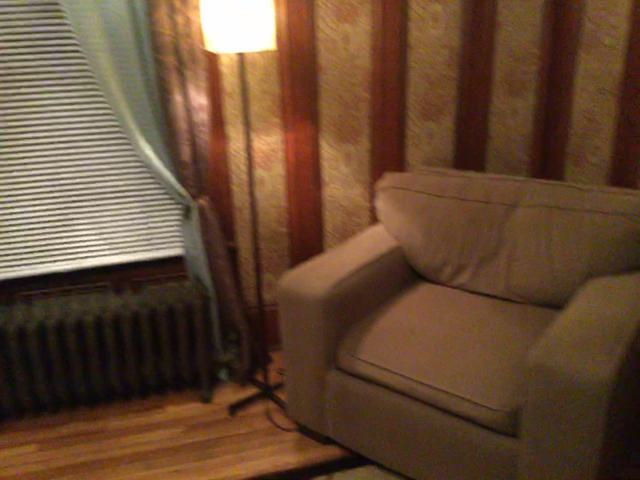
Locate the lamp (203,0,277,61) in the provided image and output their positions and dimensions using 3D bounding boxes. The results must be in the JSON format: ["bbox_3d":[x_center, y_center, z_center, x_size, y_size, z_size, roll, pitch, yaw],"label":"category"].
[{"bbox_3d":[-0.250,-0.670,1.760,0.190,0.220,0.240,-7,17,-11],"label":"lamp"}]

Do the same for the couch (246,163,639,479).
[{"bbox_3d":[0.440,0.270,1.870,1.040,0.870,0.760,10,21,38],"label":"couch"}]

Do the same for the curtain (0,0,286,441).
[{"bbox_3d":[-1.150,-0.350,1.940,1.890,2.120,0.320,-7,17,-11],"label":"curtain"}]
